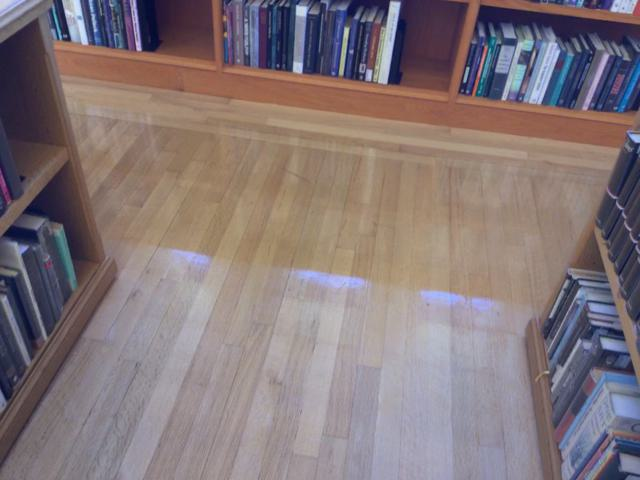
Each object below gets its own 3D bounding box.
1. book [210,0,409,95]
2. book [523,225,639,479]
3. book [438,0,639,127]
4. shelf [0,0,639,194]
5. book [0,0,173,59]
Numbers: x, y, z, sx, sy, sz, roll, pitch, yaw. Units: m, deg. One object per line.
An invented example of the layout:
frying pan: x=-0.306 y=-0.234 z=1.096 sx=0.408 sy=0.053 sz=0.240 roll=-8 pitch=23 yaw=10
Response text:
book: x=-0.030 y=-0.840 z=2.230 sx=0.700 sy=0.330 sz=0.330 roll=11 pitch=41 yaw=5
book: x=0.540 y=0.400 z=1.060 sx=0.150 sy=0.340 sz=0.920 roll=11 pitch=41 yaw=5
book: x=0.840 y=-0.700 z=2.120 sx=0.730 sy=0.360 sz=0.270 roll=11 pitch=41 yaw=5
shelf: x=-0.030 y=-0.940 z=2.040 sx=3.550 sy=0.990 sz=0.530 roll=11 pitch=41 yaw=5
book: x=-0.940 y=-0.950 z=2.260 sx=0.650 sy=0.310 sz=0.220 roll=11 pitch=41 yaw=5
